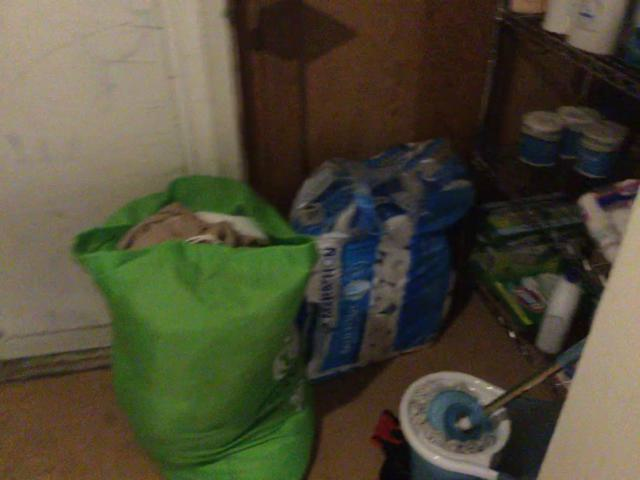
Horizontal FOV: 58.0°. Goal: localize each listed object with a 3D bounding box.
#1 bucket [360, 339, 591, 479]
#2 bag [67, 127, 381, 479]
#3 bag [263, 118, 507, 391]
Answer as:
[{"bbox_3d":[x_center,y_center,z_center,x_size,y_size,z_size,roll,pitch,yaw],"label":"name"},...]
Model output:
[{"bbox_3d":[0.330,0.480,1.350,0.360,0.250,0.350,-11,38,-14],"label":"bucket"},{"bbox_3d":[-0.230,0.220,1.360,0.500,0.710,0.610,-10,38,-14],"label":"bag"},{"bbox_3d":[0.150,0.040,1.660,0.530,0.620,0.340,-10,38,-14],"label":"bag"}]
